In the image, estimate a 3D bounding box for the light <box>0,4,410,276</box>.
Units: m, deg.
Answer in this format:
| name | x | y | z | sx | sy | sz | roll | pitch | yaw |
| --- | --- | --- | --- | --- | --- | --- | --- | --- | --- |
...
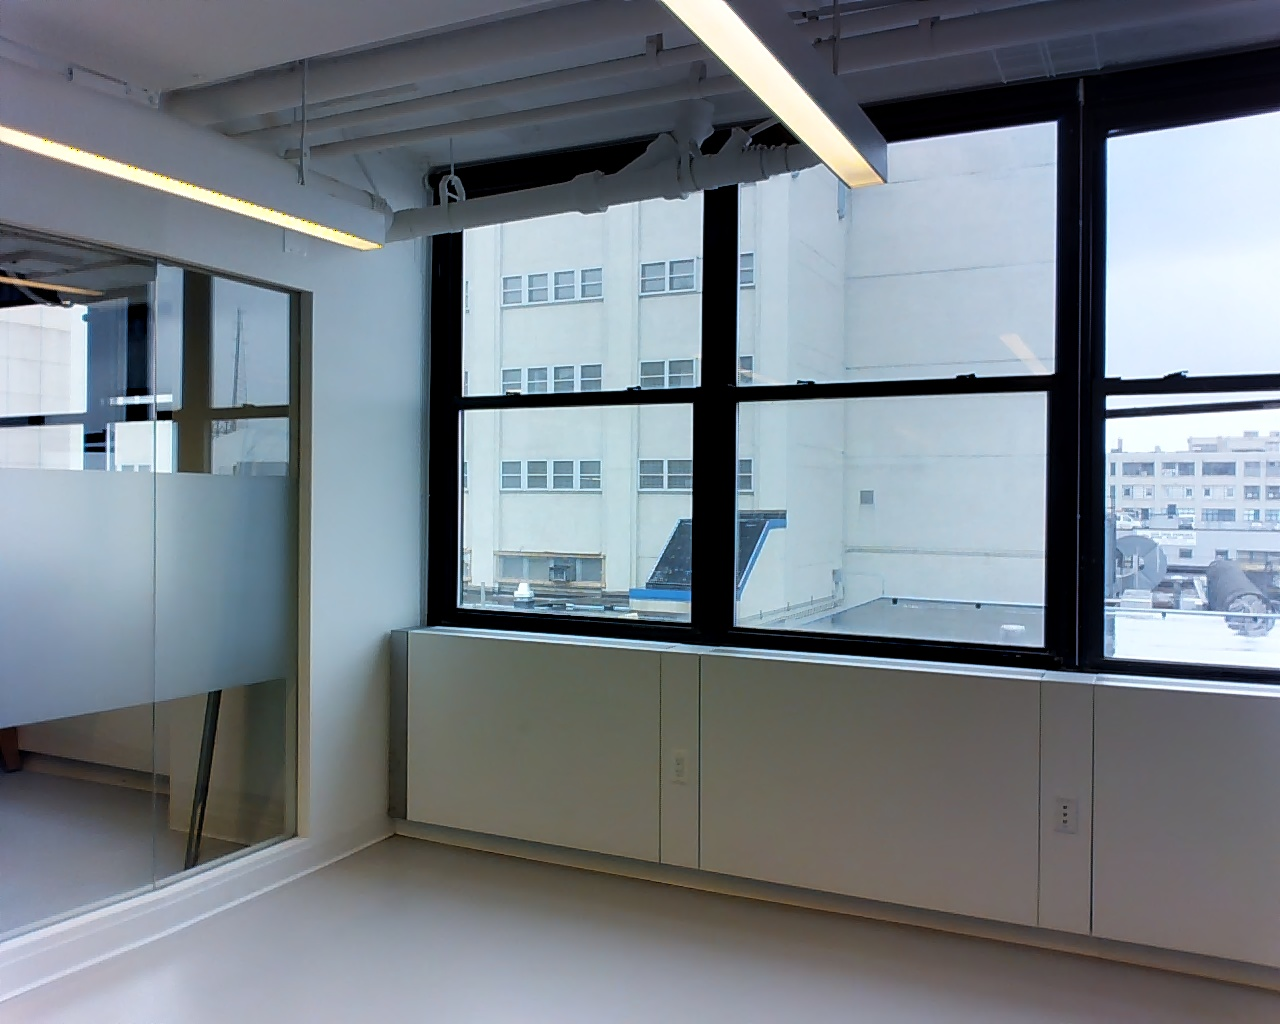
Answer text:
| name | x | y | z | sx | sy | sz | roll | pitch | yaw |
| --- | --- | --- | --- | --- | --- | --- | --- | --- | --- |
| light | -1.390 | -0.910 | 2.330 | 0.240 | 0.270 | 2.520 | 1 | 0 | 26 |
